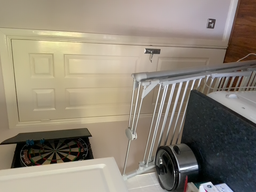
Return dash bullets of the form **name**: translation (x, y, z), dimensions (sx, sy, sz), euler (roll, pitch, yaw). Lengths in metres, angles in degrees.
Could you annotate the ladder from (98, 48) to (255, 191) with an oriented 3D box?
- **ladder**: translation (0.480, 0.130, 1.540), dimensions (0.460, 1.280, 0.820), euler (-130, 42, -61)
